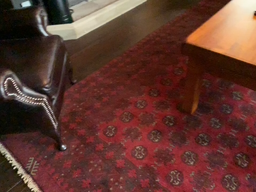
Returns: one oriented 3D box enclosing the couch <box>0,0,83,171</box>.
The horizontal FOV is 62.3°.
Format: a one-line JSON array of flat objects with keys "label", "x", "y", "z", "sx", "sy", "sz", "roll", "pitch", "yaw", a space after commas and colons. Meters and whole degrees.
[{"label": "couch", "x": -0.820, "y": -0.240, "z": 1.110, "sx": 0.880, "sy": 1.040, "sz": 0.840, "roll": -5, "pitch": 44, "yaw": 0}]
